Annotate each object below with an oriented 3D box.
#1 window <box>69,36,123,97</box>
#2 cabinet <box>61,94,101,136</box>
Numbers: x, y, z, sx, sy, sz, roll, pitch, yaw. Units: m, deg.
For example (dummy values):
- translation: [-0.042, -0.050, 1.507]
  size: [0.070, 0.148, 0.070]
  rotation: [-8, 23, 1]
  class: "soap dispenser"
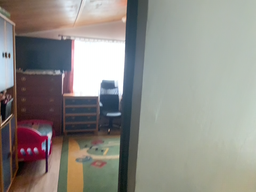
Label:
- translation: [-0.720, -0.640, 4.800]
  size: [1.170, 1.290, 0.150]
  rotation: [0, 9, -18]
  class: "window"
- translation: [-1.040, 0.400, 4.670]
  size: [0.800, 0.820, 0.400]
  rotation: [-1, 9, -20]
  class: "cabinet"
